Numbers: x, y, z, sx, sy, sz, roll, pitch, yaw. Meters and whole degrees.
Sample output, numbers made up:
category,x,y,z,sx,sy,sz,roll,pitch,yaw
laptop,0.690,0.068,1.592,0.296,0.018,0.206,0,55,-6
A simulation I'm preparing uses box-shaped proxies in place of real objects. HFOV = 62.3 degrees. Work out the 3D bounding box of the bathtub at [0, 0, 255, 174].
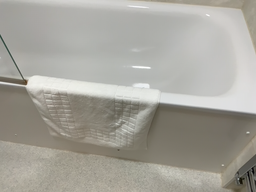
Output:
category,x,y,z,sx,sy,sz,roll,pitch,yaw
bathtub,-0.290,-0.130,1.200,1.670,0.570,0.680,7,51,6
